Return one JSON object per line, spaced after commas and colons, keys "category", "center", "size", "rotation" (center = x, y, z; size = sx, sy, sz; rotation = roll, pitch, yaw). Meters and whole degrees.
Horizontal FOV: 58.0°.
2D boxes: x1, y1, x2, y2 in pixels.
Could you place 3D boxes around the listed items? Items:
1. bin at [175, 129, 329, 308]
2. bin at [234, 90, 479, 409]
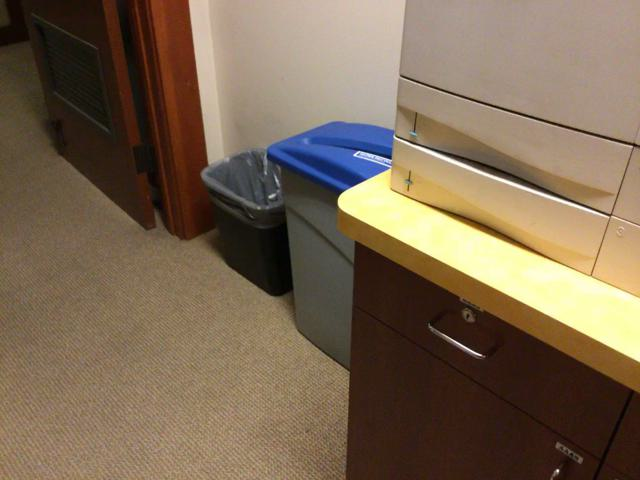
{"category": "bin", "center": [-0.240, -0.090, 1.990], "size": [0.240, 0.390, 0.500], "rotation": [-26, 44, -36]}
{"category": "bin", "center": [0.060, 0.010, 1.650], "size": [0.300, 0.670, 0.570], "rotation": [-26, 44, -36]}
